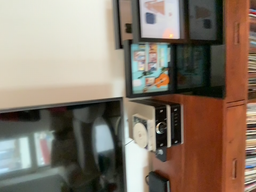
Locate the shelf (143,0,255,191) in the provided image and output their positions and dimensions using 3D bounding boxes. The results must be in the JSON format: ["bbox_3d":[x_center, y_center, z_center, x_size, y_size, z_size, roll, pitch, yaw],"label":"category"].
[{"bbox_3d":[0.530,-0.050,1.200,0.550,0.690,1.150,13,106,60],"label":"shelf"}]
